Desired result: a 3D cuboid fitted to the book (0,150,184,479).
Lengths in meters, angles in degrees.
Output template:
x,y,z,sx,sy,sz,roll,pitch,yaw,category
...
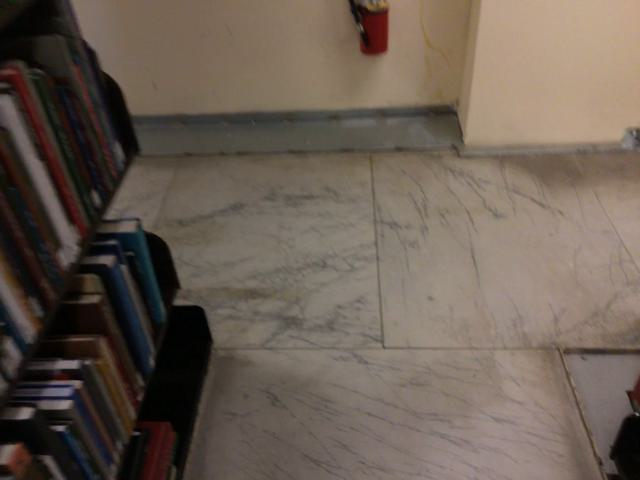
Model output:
x,y,z,sx,sy,sz,roll,pitch,yaw,category
-0.420,0.220,1.000,0.160,0.420,0.720,-3,40,2,book
